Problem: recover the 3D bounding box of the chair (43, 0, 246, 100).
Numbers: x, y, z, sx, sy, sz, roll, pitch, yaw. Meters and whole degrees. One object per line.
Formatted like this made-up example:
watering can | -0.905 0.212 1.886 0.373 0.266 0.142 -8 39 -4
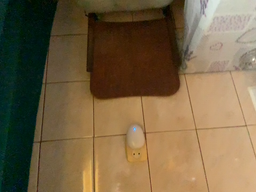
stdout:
chair | 0.010 -0.490 0.810 0.410 0.850 0.530 -4 157 -2
